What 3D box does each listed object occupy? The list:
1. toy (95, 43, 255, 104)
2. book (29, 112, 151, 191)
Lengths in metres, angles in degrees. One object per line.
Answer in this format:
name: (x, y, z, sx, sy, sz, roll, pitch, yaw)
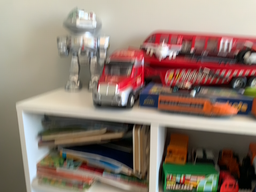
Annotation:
toy: (0.230, -0.090, 0.660, 0.590, 0.140, 0.280, 4, 14, 14)
book: (-0.110, 0.170, 0.660, 0.340, 0.180, 0.130, 4, 14, 16)
